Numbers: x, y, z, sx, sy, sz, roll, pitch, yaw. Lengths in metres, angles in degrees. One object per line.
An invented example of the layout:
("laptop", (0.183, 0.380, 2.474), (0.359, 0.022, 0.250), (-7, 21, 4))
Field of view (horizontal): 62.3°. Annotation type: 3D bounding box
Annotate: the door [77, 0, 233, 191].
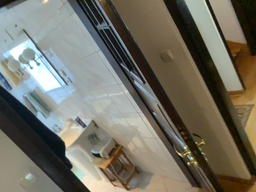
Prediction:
("door", (0.220, 0.130, 1.210), (0.130, 2.150, 0.730), (-32, 21, 2))
